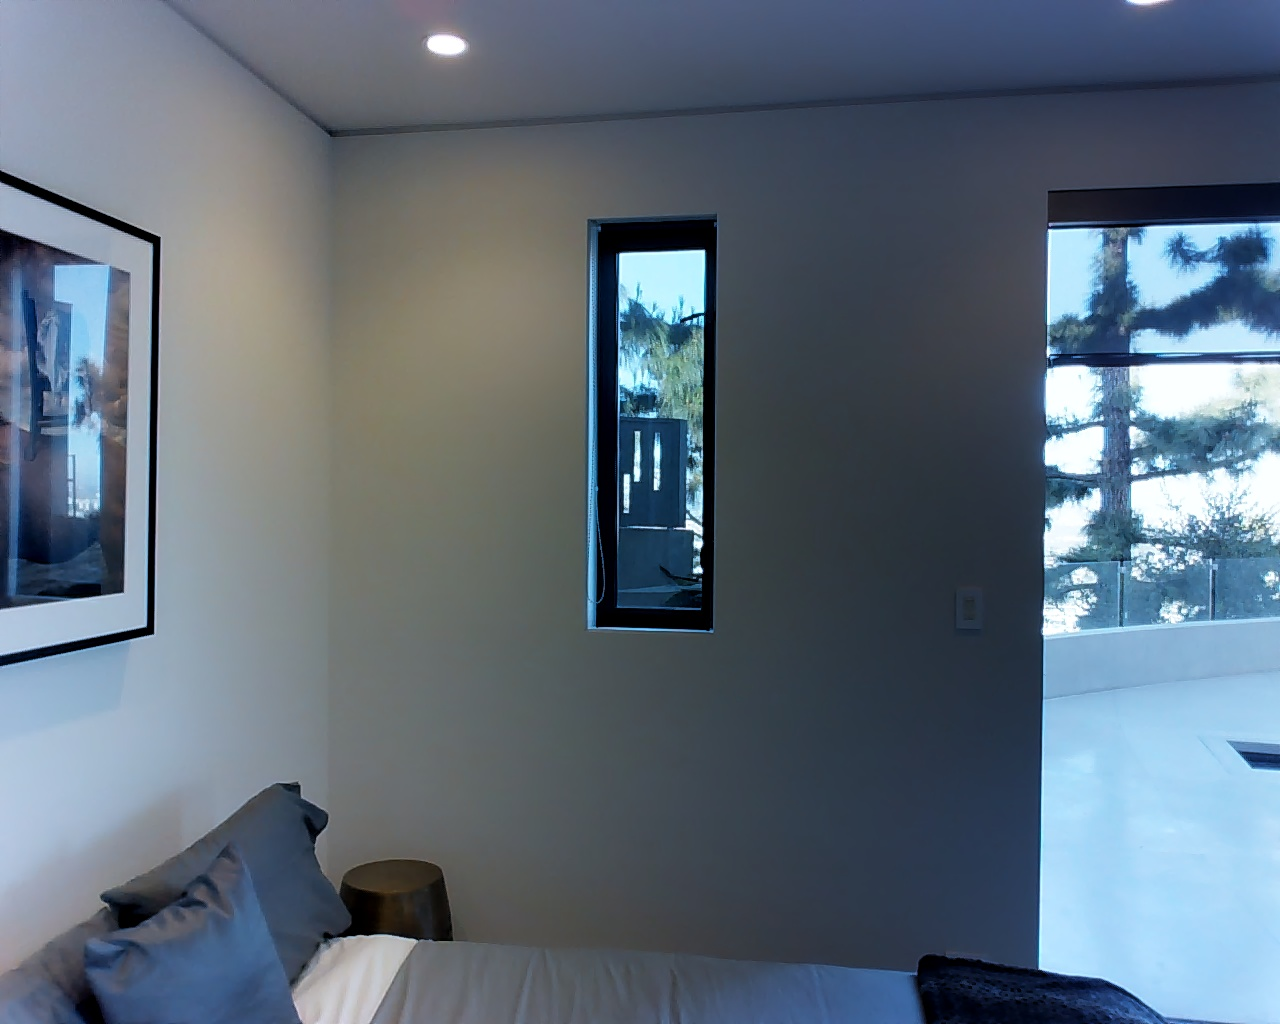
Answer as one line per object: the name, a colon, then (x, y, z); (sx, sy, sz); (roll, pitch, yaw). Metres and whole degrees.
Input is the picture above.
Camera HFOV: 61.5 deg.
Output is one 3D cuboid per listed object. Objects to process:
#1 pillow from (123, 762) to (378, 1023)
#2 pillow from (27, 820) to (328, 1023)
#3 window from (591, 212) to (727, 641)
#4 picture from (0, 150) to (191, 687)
pillow: (-0.860, 0.860, 2.470); (0.230, 0.390, 0.620); (-12, -1, 7)
pillow: (-0.820, 0.860, 1.980); (0.280, 0.410, 0.450); (-14, -1, -1)
window: (0.060, -0.270, 3.430); (0.420, 1.340, 0.060); (1, 0, 10)
picture: (-1.200, -0.170, 2.060); (0.080, 0.980, 1.120); (1, 0, 7)
